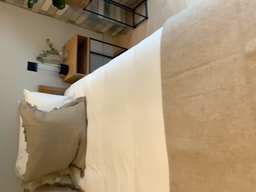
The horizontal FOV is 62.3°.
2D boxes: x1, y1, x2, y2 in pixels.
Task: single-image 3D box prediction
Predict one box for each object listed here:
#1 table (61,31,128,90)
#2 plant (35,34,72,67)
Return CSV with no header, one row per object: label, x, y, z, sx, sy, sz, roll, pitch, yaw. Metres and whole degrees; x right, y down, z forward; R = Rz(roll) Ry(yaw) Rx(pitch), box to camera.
table,-0.340,-0.340,2.230,0.310,0.600,0.410,-17,70,50
plant,-0.720,-0.430,2.060,0.140,0.300,0.210,-18,69,50
